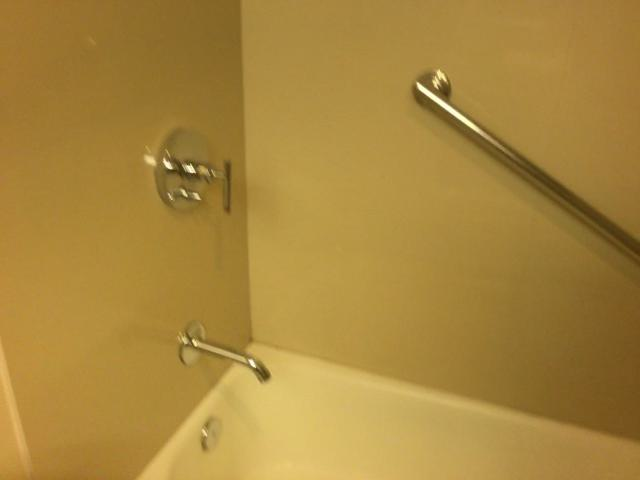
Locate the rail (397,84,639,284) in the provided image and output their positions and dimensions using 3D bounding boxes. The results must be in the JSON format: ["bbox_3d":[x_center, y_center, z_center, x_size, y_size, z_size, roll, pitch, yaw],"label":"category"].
[{"bbox_3d":[0.480,-0.120,1.230,0.600,0.360,0.070,10,25,18],"label":"rail"}]
